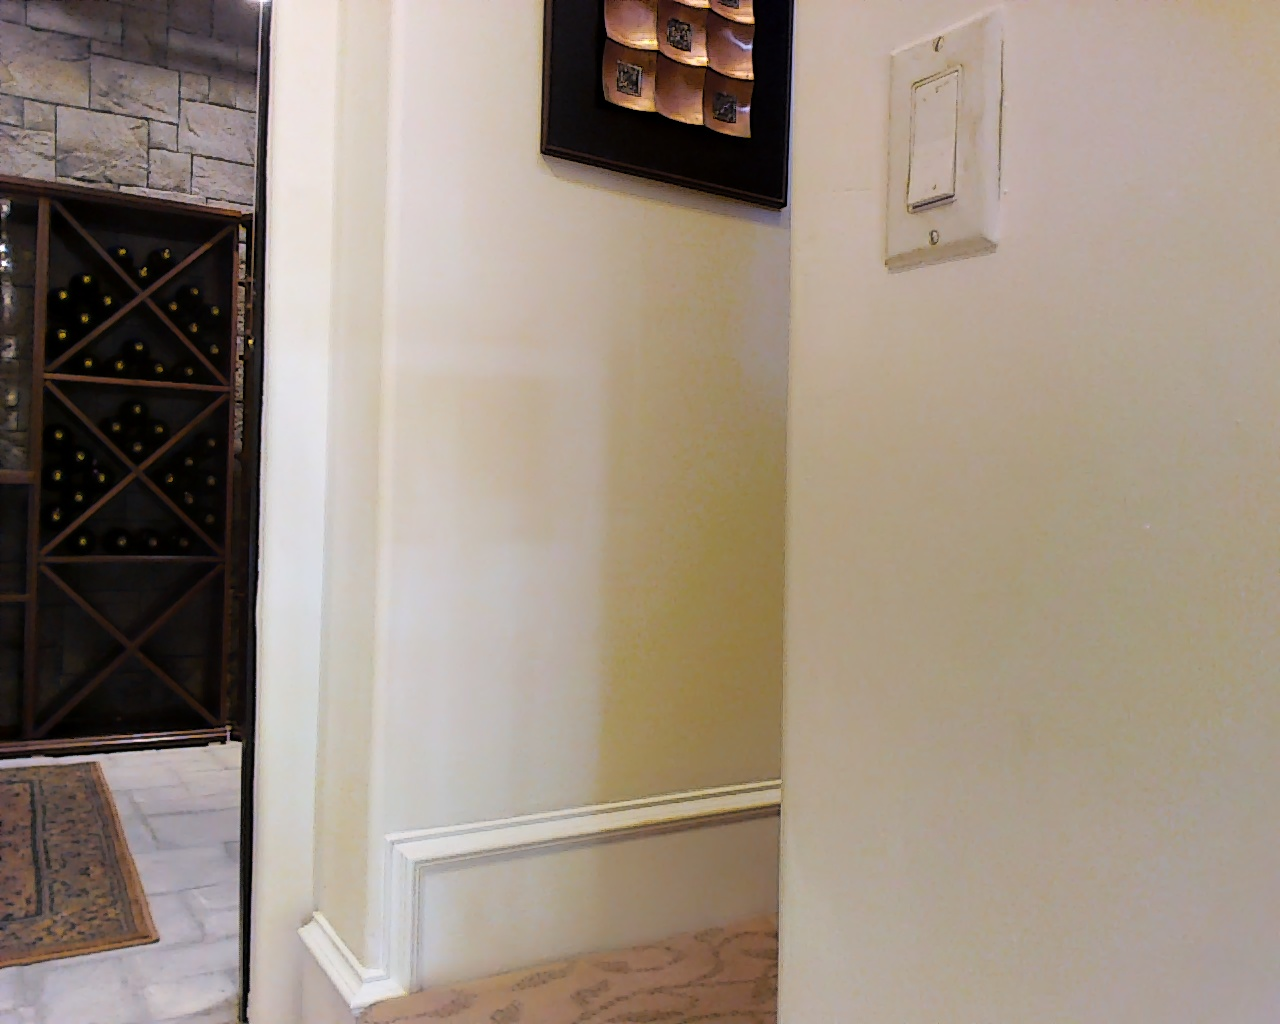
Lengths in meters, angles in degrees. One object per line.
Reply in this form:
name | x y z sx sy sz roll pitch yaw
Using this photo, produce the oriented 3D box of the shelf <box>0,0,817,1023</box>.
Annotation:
shelf | -2.200 -0.220 2.140 4.220 2.060 2.750 2 0 -32
